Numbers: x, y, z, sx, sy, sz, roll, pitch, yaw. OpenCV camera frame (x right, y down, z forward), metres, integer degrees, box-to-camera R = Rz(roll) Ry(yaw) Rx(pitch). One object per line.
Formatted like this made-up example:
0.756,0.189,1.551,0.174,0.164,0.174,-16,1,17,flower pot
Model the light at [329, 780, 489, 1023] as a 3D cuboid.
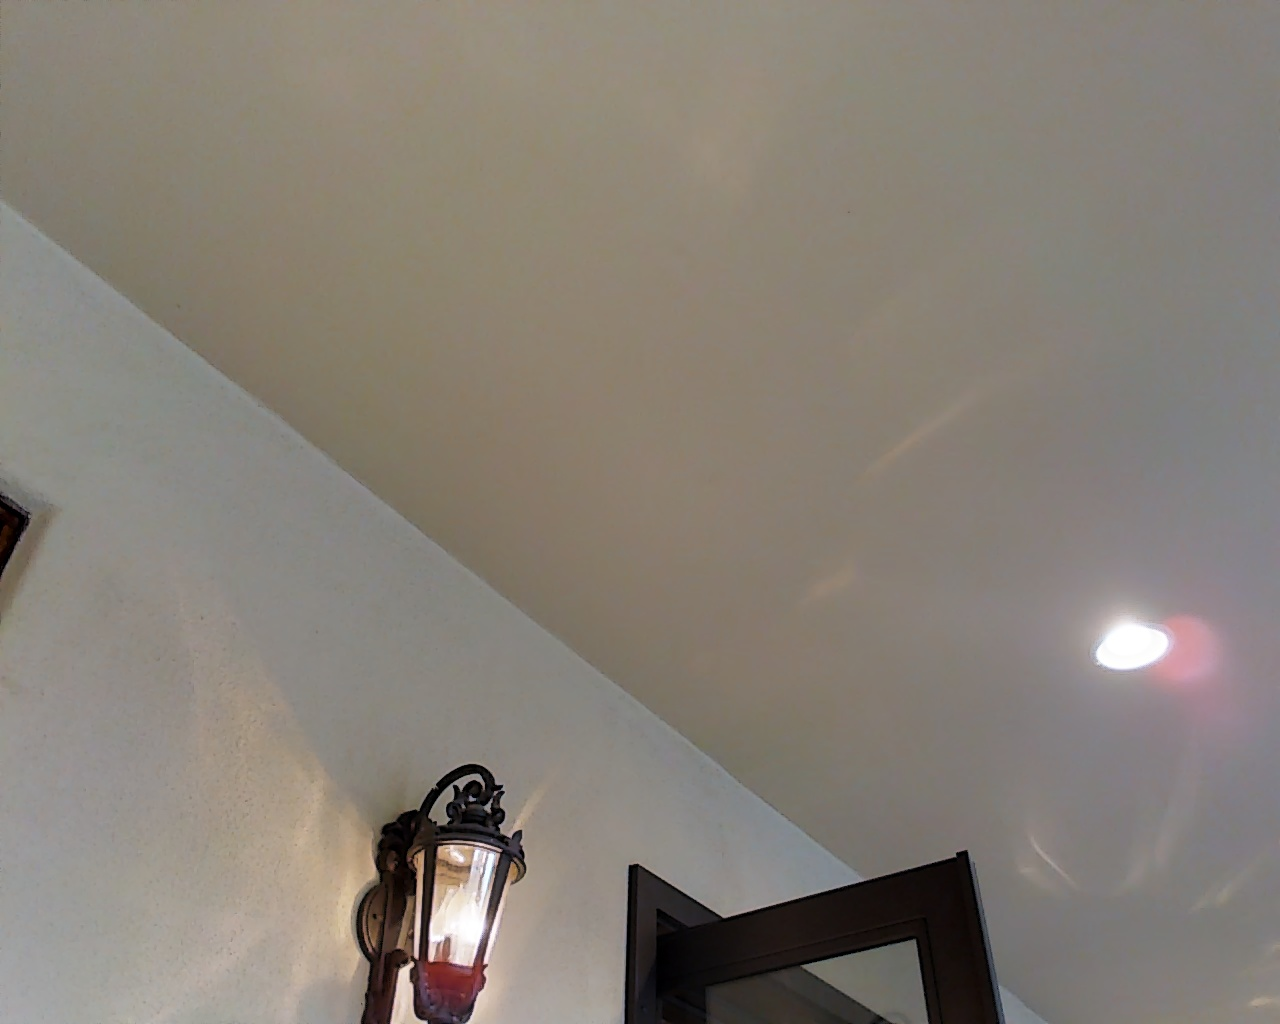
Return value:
-0.380,0.710,1.790,0.070,0.460,0.210,-25,-50,27,light
